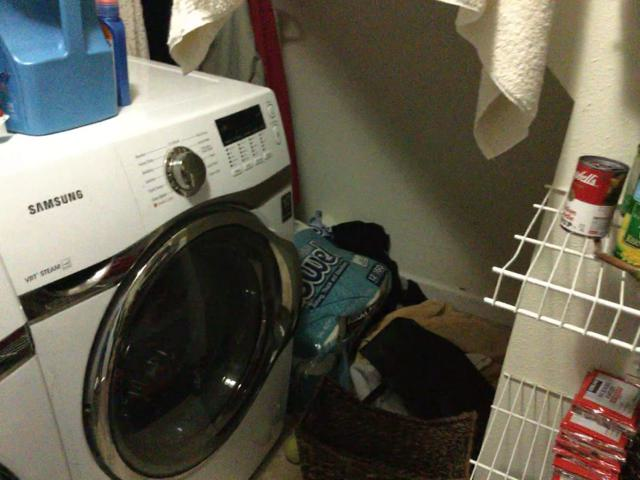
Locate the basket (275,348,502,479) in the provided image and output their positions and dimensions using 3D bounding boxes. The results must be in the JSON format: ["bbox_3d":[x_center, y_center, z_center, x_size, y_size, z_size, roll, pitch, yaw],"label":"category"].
[{"bbox_3d":[0.170,0.540,1.470,0.460,0.260,0.320,17,28,23],"label":"basket"}]
